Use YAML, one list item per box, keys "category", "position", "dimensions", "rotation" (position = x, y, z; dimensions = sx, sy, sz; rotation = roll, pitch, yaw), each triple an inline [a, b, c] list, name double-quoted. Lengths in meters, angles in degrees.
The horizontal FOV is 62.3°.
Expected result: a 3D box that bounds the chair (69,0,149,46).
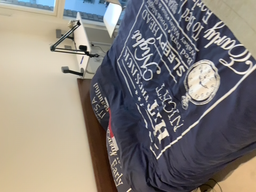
- category: "chair"
  position: [-0.250, -0.980, 2.640]
  dimensions: [0.450, 0.830, 0.420]
  rotation: [-62, 37, 43]
